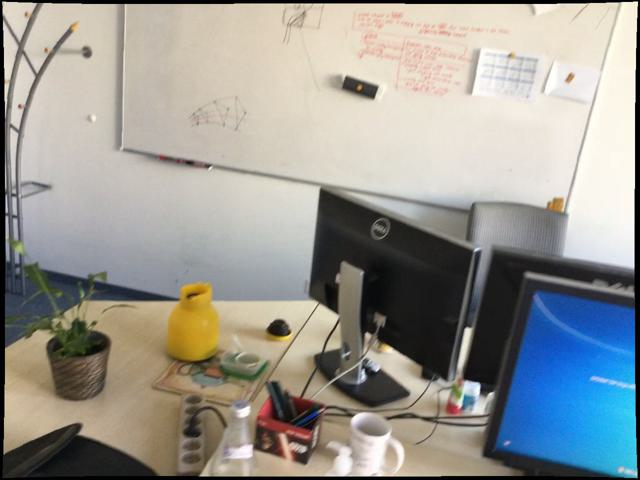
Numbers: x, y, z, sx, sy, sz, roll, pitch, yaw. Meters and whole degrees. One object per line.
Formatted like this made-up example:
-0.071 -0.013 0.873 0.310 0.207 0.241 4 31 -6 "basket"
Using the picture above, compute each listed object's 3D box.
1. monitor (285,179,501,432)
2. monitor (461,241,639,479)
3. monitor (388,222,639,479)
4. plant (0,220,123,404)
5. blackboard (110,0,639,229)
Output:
0.160 0.140 1.550 0.200 0.480 0.510 -12 26 -40 "monitor"
0.579 0.320 1.050 0.550 0.520 0.170 11 20 14 "monitor"
0.470 0.260 1.310 0.550 0.500 0.100 11 14 15 "monitor"
-0.619 0.170 1.400 0.220 0.380 0.140 11 20 14 "plant"
0.100 -0.911 2.810 2.488 1.311 0.120 11 20 14 "blackboard"
